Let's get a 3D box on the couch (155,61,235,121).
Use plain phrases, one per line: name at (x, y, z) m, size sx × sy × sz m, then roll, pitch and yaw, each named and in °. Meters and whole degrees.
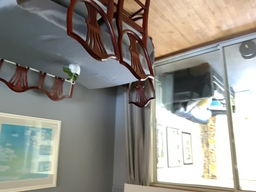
couch at (1.610, 0.030, 4.880) m, size 1.130 × 0.780 × 2.000 m, roll -10°, pitch 162°, yaw 35°
